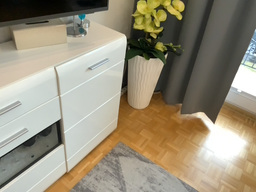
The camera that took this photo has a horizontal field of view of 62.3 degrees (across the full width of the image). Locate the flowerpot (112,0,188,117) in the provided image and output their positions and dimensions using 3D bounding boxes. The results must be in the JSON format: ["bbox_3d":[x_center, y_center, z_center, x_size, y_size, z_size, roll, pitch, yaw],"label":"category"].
[{"bbox_3d":[0.140,-0.490,1.880,0.350,1.350,0.470,-7,40,-20],"label":"flowerpot"}]
